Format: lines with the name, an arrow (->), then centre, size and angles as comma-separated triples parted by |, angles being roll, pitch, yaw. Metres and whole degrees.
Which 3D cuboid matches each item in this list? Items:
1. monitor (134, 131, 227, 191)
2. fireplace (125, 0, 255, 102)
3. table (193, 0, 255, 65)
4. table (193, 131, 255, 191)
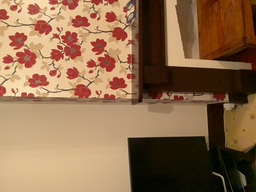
monitor -> 0.460, 0.930, 1.660 | 0.070, 0.750, 1.290 | 123, 146, -66
fireplace -> 0.600, -0.950, 2.110 | 0.590, 1.150, 1.960 | 152, 118, -75
table -> 0.990, -0.910, 2.030 | 0.620, 0.430, 1.060 | 150, 120, -75
table -> 1.020, 0.940, 1.820 | 0.550, 0.420, 1.140 | 112, 155, -57
